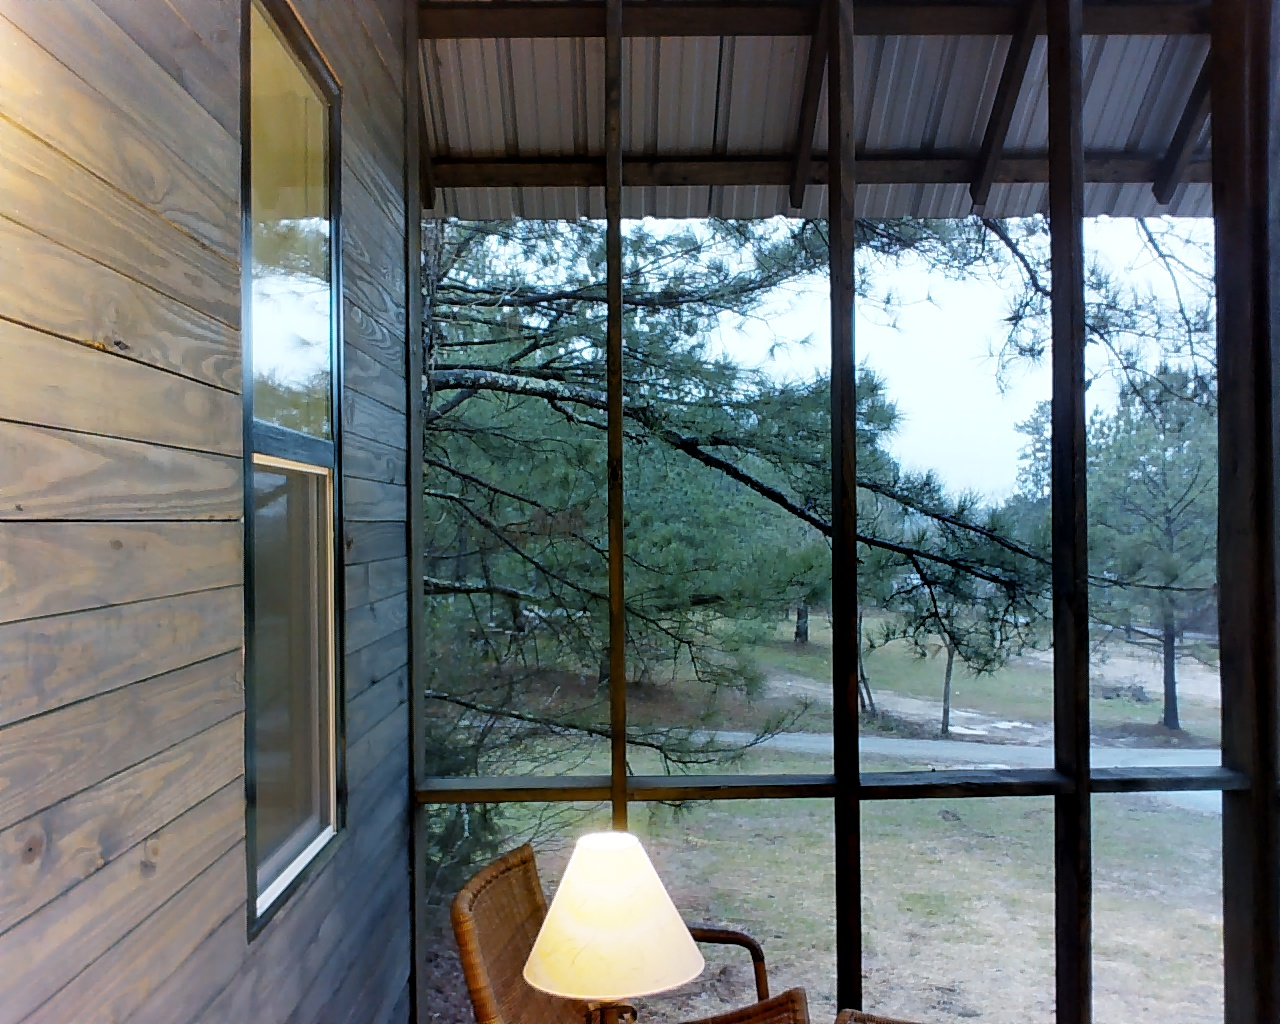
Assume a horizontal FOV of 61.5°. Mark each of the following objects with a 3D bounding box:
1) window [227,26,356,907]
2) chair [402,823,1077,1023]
[{"bbox_3d":[-0.600,-0.070,1.900,0.050,1.350,0.500,-1,0,0],"label":"window"},{"bbox_3d":[0.210,1.190,2.400,1.260,0.740,0.770,-1,0,6],"label":"chair"}]
